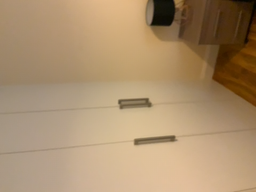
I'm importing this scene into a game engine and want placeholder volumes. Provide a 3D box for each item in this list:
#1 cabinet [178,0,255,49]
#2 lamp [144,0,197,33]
[{"bbox_3d":[0.840,-0.710,2.090,0.400,0.510,0.410,-119,29,-62],"label":"cabinet"},{"bbox_3d":[0.390,-0.770,2.030,0.260,0.390,0.270,-116,27,-60],"label":"lamp"}]
